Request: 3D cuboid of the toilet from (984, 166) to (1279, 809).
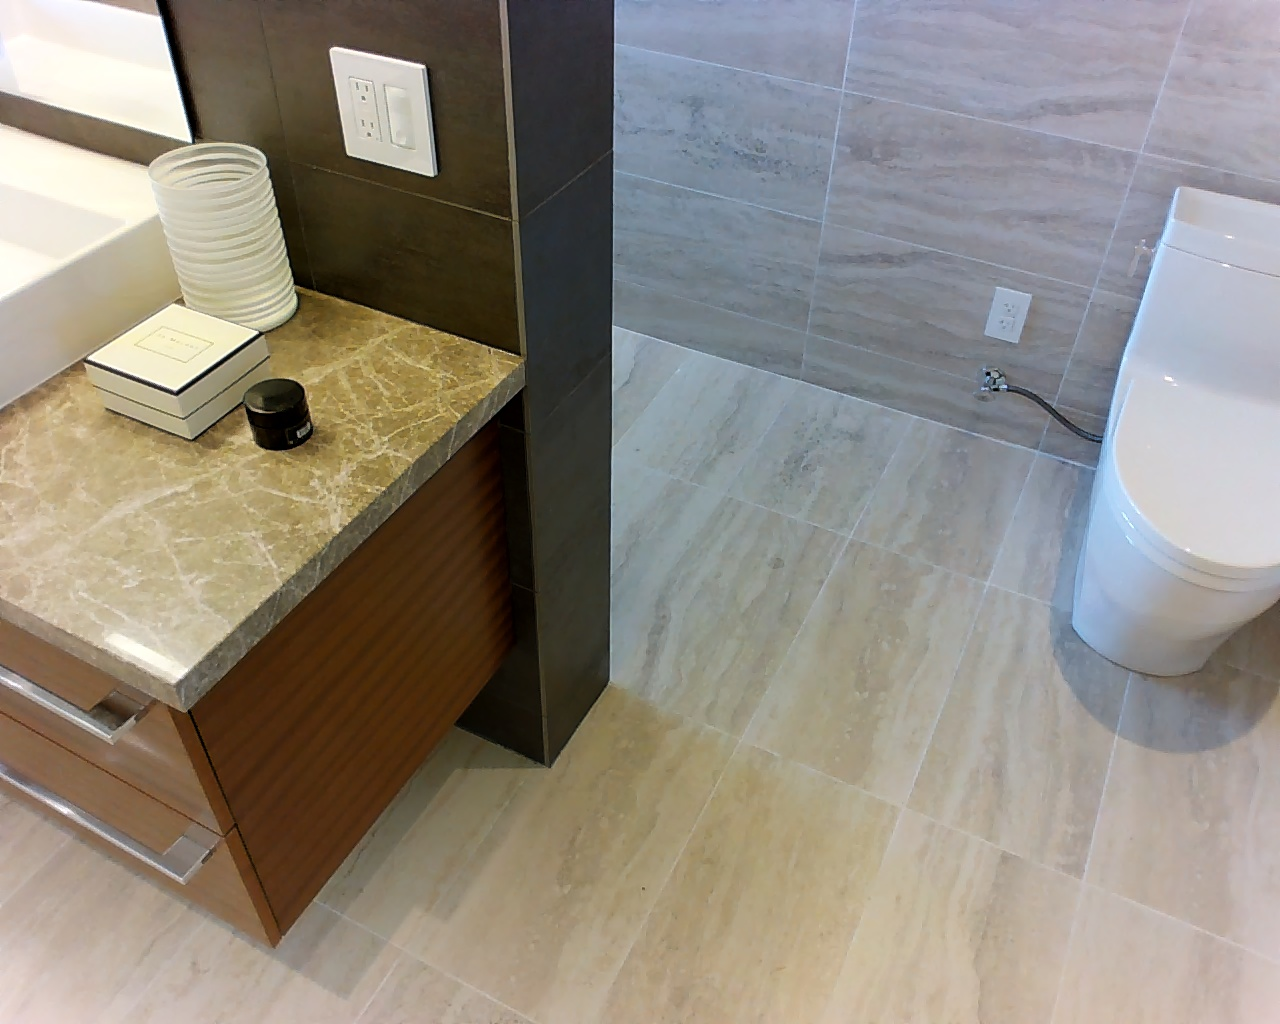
[{"bbox_3d":[1.020,-0.070,1.920,0.450,0.740,0.780,20,45,20],"label":"toilet"}]
